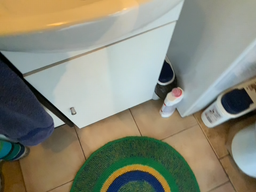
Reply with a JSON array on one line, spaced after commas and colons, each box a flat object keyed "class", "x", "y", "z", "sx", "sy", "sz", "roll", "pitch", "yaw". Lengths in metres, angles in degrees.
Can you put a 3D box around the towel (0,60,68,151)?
[{"class": "towel", "x": -0.300, "y": -0.020, "z": 0.360, "sx": 0.150, "sy": 0.980, "sz": 0.070, "roll": -24, "pitch": 73, "yaw": -10}]
